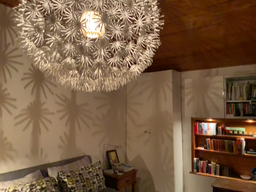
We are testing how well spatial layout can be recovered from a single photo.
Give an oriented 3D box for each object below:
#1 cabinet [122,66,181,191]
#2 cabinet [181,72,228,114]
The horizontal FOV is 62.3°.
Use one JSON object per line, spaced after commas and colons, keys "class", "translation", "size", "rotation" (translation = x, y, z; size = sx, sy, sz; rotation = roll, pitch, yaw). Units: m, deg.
{"class": "cabinet", "translation": [0.420, 0.680, 4.000], "size": [1.030, 2.340, 0.390], "rotation": [-3, -5, 34]}
{"class": "cabinet", "translation": [1.250, -0.020, 3.480], "size": [0.620, 0.630, 0.430], "rotation": [-3, -5, 34]}
